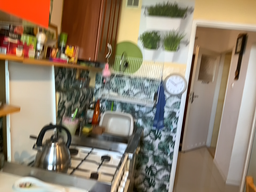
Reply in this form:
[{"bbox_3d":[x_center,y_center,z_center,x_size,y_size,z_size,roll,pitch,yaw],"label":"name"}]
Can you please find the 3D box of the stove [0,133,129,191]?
[{"bbox_3d":[-0.360,0.470,1.340,0.640,0.230,0.550,8,7,8],"label":"stove"}]
